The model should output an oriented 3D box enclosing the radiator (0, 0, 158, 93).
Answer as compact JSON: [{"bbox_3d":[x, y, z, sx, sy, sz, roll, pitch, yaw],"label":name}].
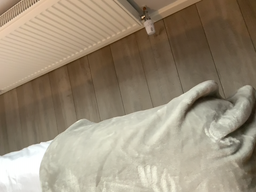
[{"bbox_3d":[-0.540,-0.260,1.190,1.310,0.550,0.090,-16,78,25],"label":"radiator"}]
